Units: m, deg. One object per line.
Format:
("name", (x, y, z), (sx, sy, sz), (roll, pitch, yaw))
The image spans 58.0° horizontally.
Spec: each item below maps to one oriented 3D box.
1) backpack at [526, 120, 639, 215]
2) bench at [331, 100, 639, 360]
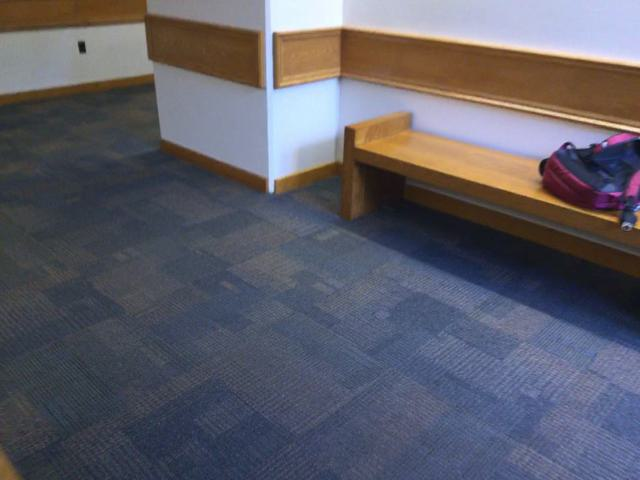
("backpack", (1.140, -0.300, 2.300), (0.430, 0.250, 0.400), (-2, 27, -9))
("bench", (0.880, -0.140, 2.590), (0.560, 0.580, 1.790), (-25, 35, -36))
